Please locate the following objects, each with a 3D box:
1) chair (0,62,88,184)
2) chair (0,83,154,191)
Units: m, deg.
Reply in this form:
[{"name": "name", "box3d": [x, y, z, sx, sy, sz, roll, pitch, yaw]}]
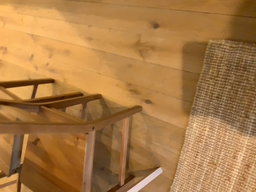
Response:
[{"name": "chair", "box3d": [-0.730, 0.120, 1.160, 0.430, 0.880, 0.530, 22, 104, 28]}, {"name": "chair", "box3d": [-0.310, 0.240, 0.910, 0.410, 0.880, 0.510, 18, 102, 29]}]
